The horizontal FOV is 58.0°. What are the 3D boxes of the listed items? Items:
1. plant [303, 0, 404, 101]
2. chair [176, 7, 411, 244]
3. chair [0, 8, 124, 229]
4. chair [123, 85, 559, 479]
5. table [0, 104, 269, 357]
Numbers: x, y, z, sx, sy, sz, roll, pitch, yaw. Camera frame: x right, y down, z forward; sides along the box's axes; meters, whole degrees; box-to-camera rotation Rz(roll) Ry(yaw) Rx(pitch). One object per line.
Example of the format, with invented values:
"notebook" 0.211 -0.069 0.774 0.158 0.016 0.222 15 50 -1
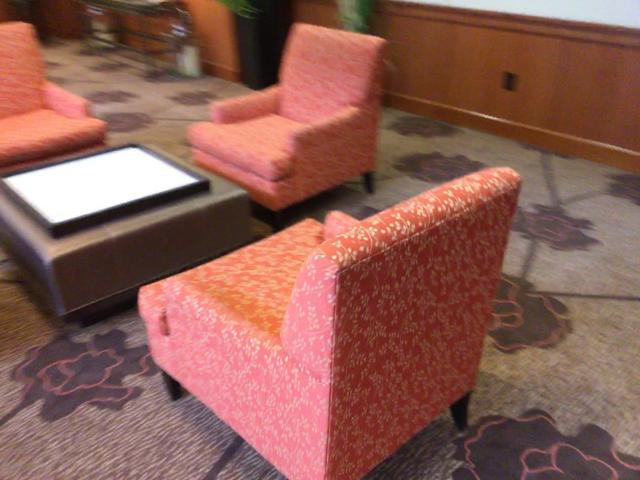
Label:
"plant" 0.260 -1.760 4.620 0.500 1.030 0.600 -26 46 -34
"chair" -0.180 -0.680 3.150 0.900 0.960 0.770 -19 40 -39
"chair" -1.700 -0.730 3.250 0.770 0.910 0.920 -19 40 -39
"chair" -0.010 0.130 1.690 0.750 0.870 0.840 -19 40 -39
"table" -0.930 -0.140 2.600 0.940 0.460 1.020 -22 44 -37
